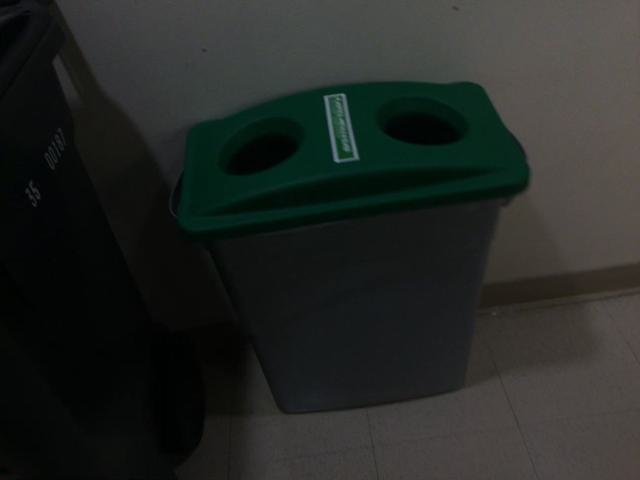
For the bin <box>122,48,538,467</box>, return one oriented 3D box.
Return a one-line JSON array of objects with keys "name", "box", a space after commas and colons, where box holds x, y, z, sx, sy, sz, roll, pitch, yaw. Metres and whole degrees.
[{"name": "bin", "box": [0.060, 0.080, 1.080, 0.550, 0.680, 0.290, -11, 41, 4]}]
